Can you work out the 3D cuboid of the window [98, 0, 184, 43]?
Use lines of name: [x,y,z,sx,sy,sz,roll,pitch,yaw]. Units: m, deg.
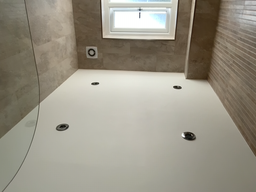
window: [0.150,-1.140,2.550,0.980,0.900,0.300,3,-156,4]
